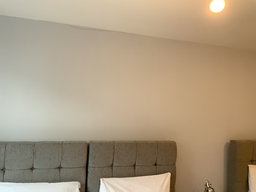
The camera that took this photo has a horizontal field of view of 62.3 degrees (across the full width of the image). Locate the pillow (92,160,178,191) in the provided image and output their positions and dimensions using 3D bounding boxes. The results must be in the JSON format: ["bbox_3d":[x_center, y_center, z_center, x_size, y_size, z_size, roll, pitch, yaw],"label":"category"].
[{"bbox_3d":[0.060,0.940,2.010,0.750,0.420,0.190,24,-11,-18],"label":"pillow"}]
